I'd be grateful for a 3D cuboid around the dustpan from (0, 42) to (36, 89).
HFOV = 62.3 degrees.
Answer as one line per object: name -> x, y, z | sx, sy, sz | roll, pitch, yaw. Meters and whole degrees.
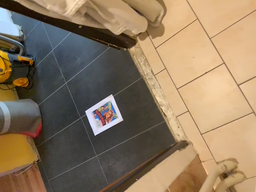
dustpan -> -1.130, -0.270, 1.910 | 0.270, 0.390, 0.320 | -35, 74, 26
